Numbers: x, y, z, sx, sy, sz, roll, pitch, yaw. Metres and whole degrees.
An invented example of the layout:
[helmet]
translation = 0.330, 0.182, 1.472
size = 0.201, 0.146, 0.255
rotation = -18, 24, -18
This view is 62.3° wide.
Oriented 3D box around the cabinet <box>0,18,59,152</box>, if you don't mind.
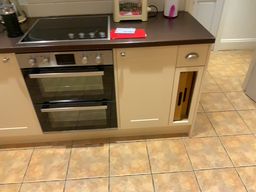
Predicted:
[cabinet]
translation = -0.980, -0.080, 1.790
size = 0.490, 0.940, 0.590
rotation = -3, 37, -3
